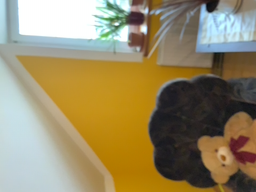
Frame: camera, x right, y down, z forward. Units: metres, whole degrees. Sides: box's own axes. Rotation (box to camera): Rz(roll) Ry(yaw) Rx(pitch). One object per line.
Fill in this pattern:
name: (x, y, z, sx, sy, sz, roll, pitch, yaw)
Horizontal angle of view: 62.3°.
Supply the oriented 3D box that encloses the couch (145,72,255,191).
couch: (0.730, 0.290, 1.390, 0.850, 1.000, 0.850, -151, 63, -77)
